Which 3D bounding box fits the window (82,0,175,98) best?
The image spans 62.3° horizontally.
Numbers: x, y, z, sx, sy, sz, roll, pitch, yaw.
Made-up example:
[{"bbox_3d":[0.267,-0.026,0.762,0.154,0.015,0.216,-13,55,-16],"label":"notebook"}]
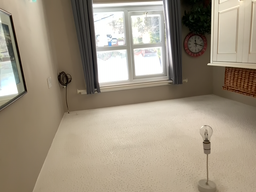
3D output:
[{"bbox_3d":[0.030,-0.690,2.900,1.140,1.280,0.310,-7,-167,-11],"label":"window"}]
